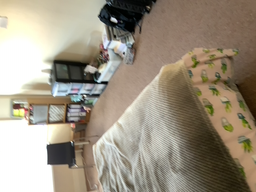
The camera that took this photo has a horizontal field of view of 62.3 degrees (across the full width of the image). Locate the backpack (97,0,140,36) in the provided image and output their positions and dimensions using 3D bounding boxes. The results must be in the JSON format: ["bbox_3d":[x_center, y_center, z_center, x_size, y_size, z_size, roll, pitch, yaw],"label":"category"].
[{"bbox_3d":[-0.120,-0.930,2.560,0.260,0.420,0.230,-50,48,48],"label":"backpack"}]
